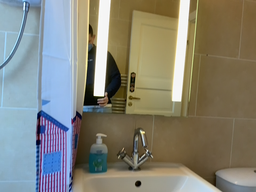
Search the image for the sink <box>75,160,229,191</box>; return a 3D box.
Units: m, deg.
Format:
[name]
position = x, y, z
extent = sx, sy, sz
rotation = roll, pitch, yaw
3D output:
[sink]
position = 0.070, 0.400, 0.830
extent = 0.540, 0.150, 0.460
rotation = 3, 2, -12
